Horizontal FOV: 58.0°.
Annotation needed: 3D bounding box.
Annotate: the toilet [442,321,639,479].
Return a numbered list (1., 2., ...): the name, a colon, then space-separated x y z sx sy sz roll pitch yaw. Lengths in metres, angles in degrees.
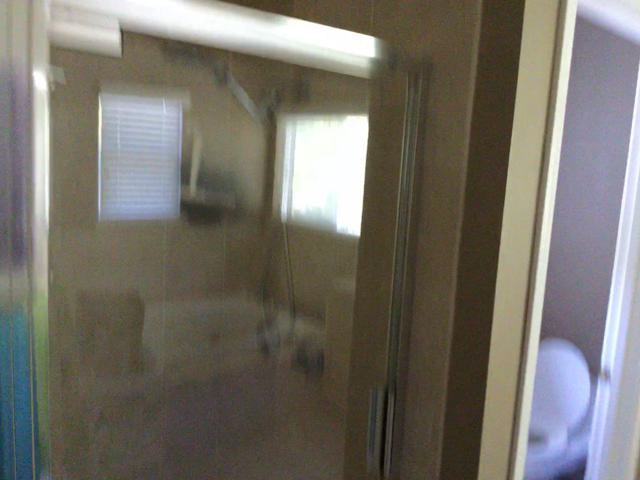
1. toilet: 1.000 0.840 2.640 0.700 0.770 0.490 -1 8 -38

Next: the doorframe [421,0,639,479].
1. doorframe: 0.700 0.310 1.620 0.850 2.040 0.270 -1 8 -38
